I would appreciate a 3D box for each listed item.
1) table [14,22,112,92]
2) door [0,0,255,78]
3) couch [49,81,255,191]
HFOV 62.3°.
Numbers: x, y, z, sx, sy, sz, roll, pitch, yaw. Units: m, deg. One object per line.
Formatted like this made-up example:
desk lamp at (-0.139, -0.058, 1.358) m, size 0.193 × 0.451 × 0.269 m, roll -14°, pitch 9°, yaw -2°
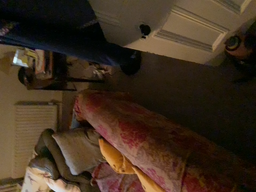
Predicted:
table at (-1.030, -0.420, 3.080) m, size 1.660 × 0.780 × 0.580 m, roll -5°, pitch 84°, yaw 50°
door at (0.020, -0.560, 0.780) m, size 0.100 × 2.090 × 0.940 m, roll 55°, pitch 128°, yaw 36°
couch at (0.170, 0.650, 1.600) m, size 1.980 × 0.740 × 1.060 m, roll 25°, pitch 107°, yaw 48°
